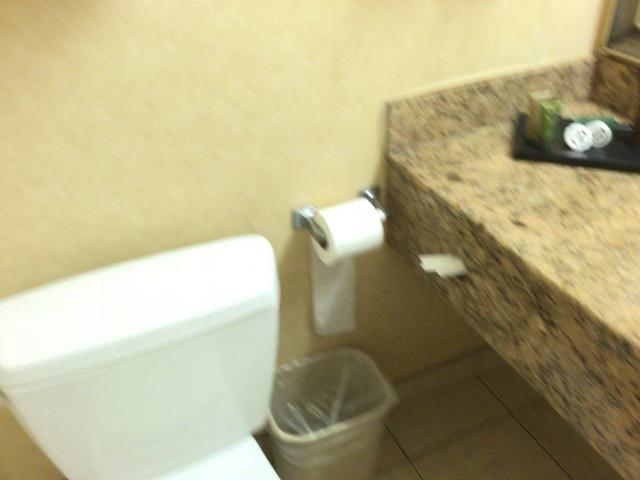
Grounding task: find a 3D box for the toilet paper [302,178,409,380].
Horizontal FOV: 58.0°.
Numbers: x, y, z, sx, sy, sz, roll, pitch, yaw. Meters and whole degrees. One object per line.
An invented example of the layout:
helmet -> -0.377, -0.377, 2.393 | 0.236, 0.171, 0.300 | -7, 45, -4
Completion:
toilet paper -> 0.070, 0.090, 1.230 | 0.170, 0.400, 0.120 | -16, 37, -21
